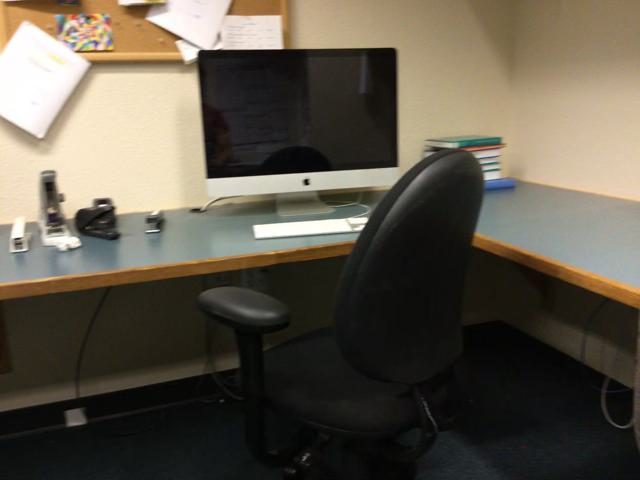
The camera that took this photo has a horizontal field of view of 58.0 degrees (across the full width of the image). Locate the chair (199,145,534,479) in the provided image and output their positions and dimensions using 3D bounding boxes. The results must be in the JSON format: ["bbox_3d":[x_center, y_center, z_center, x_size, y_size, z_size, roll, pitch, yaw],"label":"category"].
[{"bbox_3d":[0.090,0.290,1.420,0.550,1.010,0.570,-7,10,-29],"label":"chair"}]
